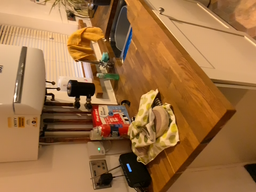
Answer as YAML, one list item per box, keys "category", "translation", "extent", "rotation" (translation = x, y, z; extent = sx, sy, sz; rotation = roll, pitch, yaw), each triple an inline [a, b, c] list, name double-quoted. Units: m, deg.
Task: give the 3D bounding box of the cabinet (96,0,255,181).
- category: "cabinet"
  translation: [0.400, -0.210, 1.480]
  extent: [1.240, 0.920, 0.640]
  rotation: [-113, 35, -44]

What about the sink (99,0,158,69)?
- category: "sink"
  translation: [-0.030, -0.520, 1.630]
  extent: [0.370, 0.230, 0.470]
  rotation: [-113, 35, -44]
